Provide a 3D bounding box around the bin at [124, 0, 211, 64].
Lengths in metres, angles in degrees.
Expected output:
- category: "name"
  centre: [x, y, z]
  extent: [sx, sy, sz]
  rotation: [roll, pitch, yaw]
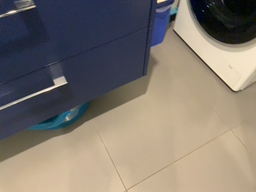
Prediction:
- category: "bin"
  centre: [0.210, -0.510, 1.210]
  extent: [0.360, 0.490, 0.300]
  rotation: [-27, 63, -16]
